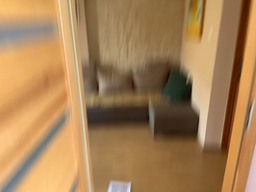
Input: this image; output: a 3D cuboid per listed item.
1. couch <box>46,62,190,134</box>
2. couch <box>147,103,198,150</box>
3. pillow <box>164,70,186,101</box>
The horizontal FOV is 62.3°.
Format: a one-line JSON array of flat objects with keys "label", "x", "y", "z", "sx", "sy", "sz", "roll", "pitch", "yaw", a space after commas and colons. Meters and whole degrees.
[{"label": "couch", "x": -0.140, "y": 0.000, "z": 3.620, "sx": 2.100, "sy": 0.960, "sz": 0.790, "roll": -1, "pitch": 21, "yaw": -1}, {"label": "couch", "x": 0.620, "y": 0.430, "z": 3.130, "sx": 0.610, "sy": 0.490, "sz": 0.490, "roll": -2, "pitch": 22, "yaw": -1}, {"label": "pillow", "x": 0.780, "y": -0.200, "z": 3.610, "sx": 0.200, "sy": 0.290, "sz": 0.750, "roll": -1, "pitch": 21, "yaw": -1}]
